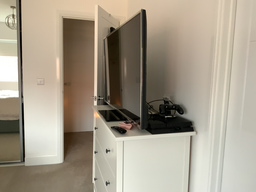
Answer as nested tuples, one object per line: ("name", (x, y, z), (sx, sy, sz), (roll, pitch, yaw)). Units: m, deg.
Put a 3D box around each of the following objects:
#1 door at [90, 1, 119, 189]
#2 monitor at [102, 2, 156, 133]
("door", (-0.280, 0.000, 2.660), (0.070, 2.030, 0.780), (4, 7, 11))
("monitor", (-0.060, -0.190, 1.650), (0.070, 0.690, 1.070), (1, 5, -17))
